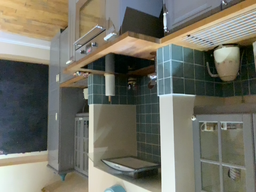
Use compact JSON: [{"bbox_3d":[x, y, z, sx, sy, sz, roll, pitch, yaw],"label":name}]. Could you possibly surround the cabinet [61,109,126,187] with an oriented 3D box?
[{"bbox_3d":[-0.520,0.660,3.050,0.610,0.920,0.830,3,174,-36],"label":"cabinet"}]
